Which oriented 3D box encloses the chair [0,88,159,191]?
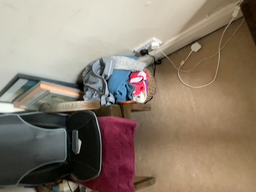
[{"bbox_3d":[-0.500,0.340,1.330,0.910,1.050,0.550,-10,78,41],"label":"chair"}]
